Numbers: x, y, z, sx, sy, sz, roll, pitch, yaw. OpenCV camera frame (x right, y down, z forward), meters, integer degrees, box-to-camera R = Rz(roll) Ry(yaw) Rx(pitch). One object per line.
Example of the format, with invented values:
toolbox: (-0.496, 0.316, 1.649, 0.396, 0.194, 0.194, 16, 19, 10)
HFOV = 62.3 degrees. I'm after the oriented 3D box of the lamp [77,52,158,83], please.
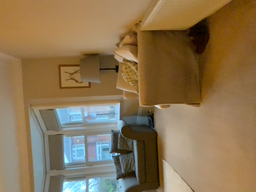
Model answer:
lamp: (-0.210, -0.560, 4.260, 0.530, 1.500, 0.500, -171, 78, -82)
